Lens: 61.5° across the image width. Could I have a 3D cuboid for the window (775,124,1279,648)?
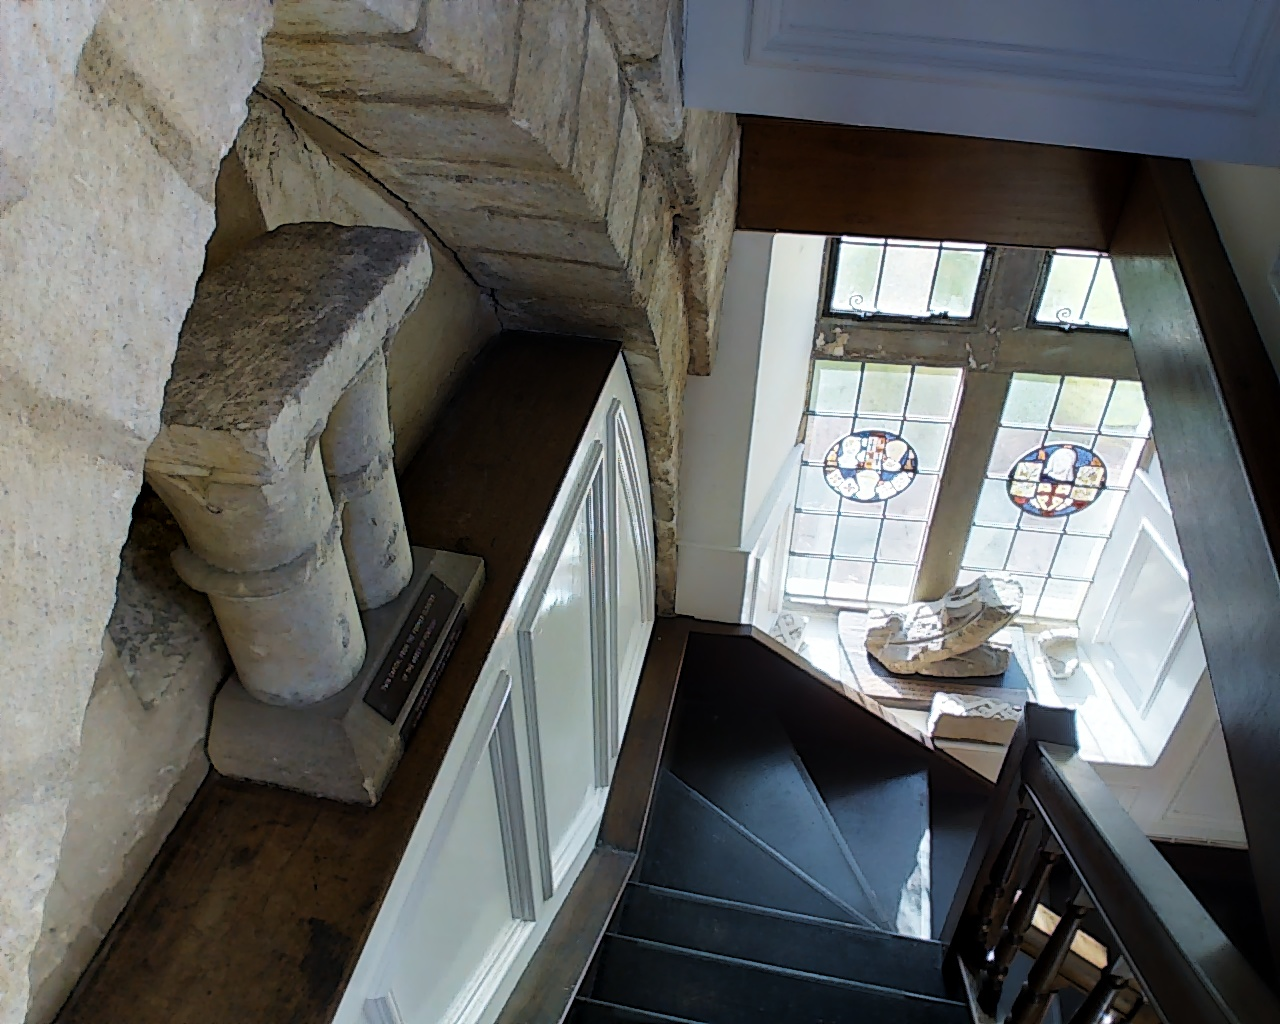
[{"bbox_3d":[1.080,-0.280,3.430,1.120,1.820,0.130,4,40,4],"label":"window"}]
